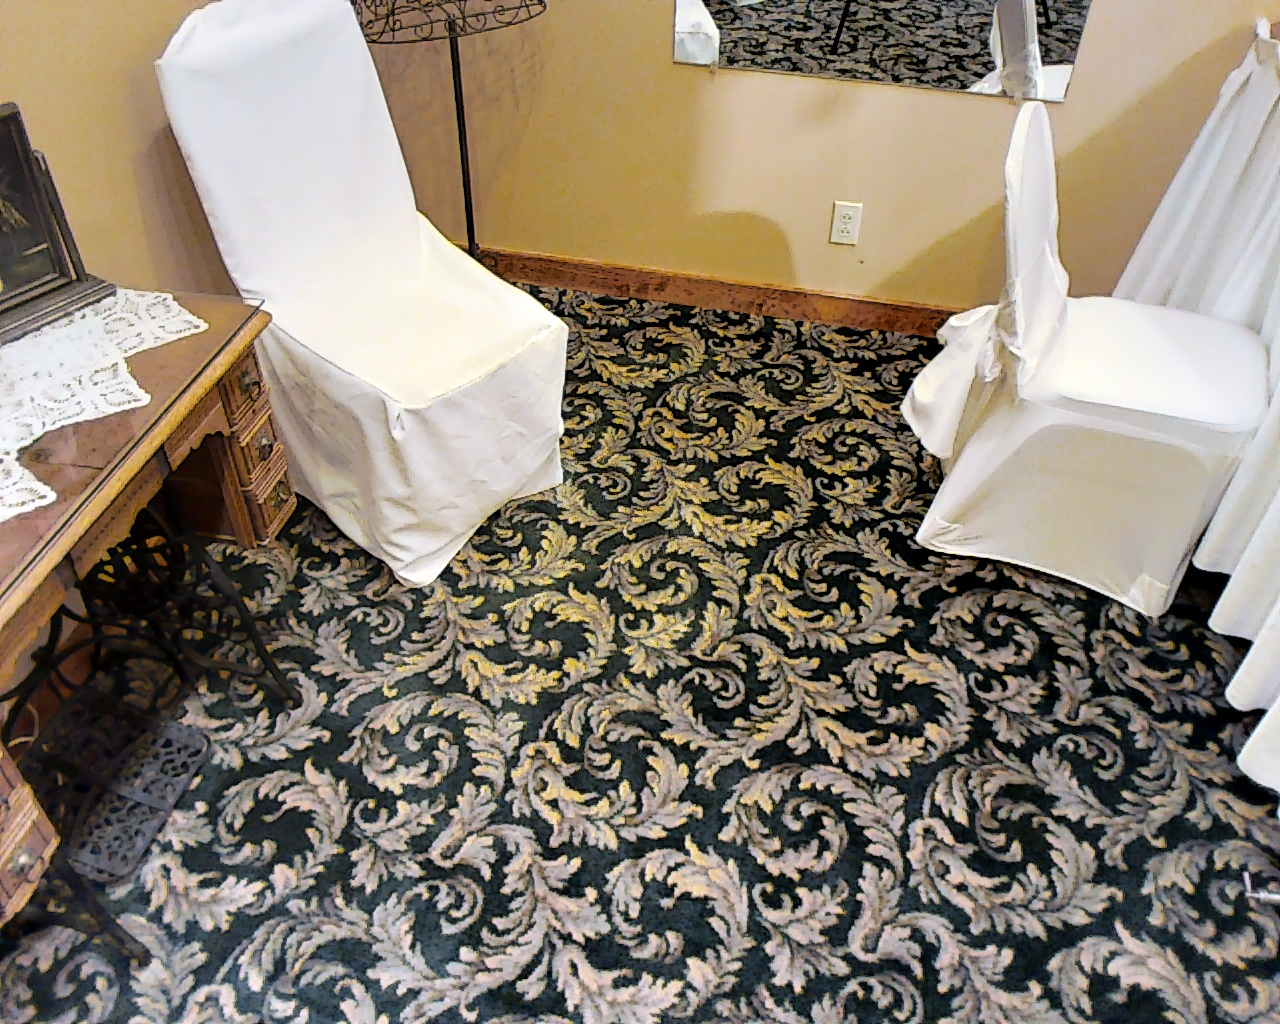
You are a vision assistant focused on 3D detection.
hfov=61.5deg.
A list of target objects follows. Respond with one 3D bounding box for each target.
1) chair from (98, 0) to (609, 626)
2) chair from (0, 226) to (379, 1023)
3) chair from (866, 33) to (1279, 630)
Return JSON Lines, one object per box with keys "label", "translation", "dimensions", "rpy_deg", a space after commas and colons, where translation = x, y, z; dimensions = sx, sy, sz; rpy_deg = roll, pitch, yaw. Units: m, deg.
{"label": "chair", "translation": [-0.470, -0.430, 2.080], "dimensions": [0.600, 1.030, 0.550], "rpy_deg": [31, 50, 29]}
{"label": "chair", "translation": [-0.840, 0.190, 1.560], "dimensions": [0.490, 0.790, 0.940], "rpy_deg": [8, 42, 7]}
{"label": "chair", "translation": [0.890, -0.340, 2.100], "dimensions": [0.650, 0.910, 0.480], "rpy_deg": [17, 44, 17]}
